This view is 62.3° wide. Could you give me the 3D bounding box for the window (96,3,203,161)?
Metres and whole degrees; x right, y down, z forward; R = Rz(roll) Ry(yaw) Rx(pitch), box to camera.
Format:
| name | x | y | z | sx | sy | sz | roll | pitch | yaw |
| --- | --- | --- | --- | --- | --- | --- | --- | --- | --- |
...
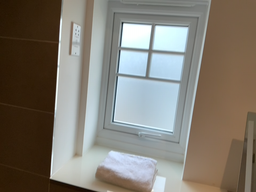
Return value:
| name | x | y | z | sx | sy | sz | roll | pitch | yaw |
| --- | --- | --- | --- | --- | --- | --- | --- | --- | --- |
| window | 0.100 | -0.080 | 1.290 | 0.530 | 0.880 | 0.050 | 9 | 10 | 13 |
